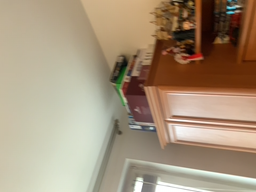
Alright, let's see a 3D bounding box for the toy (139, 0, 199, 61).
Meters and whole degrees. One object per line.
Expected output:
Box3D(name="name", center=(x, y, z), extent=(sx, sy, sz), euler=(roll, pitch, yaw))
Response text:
Box3D(name="toy", center=(0.240, -0.460, 1.140), extent=(0.470, 0.250, 0.280), euler=(67, -148, -50))
